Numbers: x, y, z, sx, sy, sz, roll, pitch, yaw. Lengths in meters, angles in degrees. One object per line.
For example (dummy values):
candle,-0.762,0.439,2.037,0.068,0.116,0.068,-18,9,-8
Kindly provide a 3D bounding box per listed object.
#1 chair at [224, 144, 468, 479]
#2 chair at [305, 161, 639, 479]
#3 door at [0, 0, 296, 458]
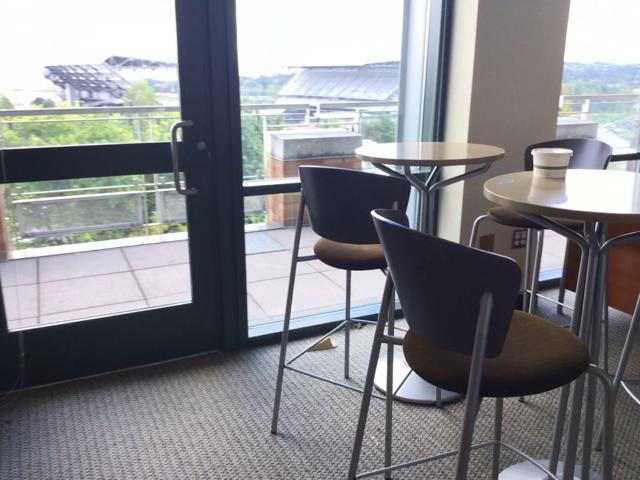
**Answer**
chair,0.100,0.200,2.130,0.550,0.980,0.630,-16,20,-29
chair,0.380,0.390,1.380,0.530,1.010,0.620,-13,18,-20
door,-0.960,-0.380,2.370,1.280,2.150,0.400,-23,23,-27
